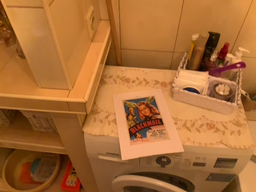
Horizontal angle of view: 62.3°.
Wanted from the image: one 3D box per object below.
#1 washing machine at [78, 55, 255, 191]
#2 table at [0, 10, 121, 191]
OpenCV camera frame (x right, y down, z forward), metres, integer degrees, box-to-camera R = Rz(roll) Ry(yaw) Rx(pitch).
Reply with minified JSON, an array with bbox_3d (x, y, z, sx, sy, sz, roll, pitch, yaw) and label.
[{"bbox_3d":[0.170,0.300,1.160,0.620,0.850,0.500,6,48,4],"label":"washing machine"},{"bbox_3d":[-0.460,0.160,1.150,0.770,1.040,0.480,6,48,4],"label":"table"}]
